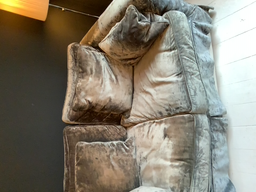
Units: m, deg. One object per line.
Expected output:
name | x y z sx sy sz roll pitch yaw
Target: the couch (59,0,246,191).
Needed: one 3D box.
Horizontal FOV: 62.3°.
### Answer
couch | 0.030 0.170 1.630 1.160 0.800 1.710 -20 71 56
